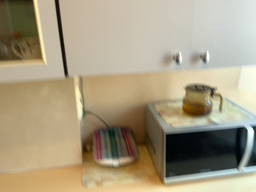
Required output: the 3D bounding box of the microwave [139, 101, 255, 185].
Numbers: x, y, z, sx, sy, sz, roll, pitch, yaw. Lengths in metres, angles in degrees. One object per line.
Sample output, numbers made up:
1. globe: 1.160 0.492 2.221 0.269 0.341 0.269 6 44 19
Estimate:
1. microwave: 0.330 0.210 1.110 0.470 0.200 0.390 -4 21 -9
